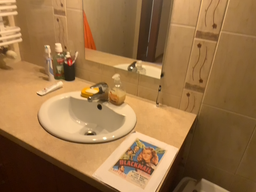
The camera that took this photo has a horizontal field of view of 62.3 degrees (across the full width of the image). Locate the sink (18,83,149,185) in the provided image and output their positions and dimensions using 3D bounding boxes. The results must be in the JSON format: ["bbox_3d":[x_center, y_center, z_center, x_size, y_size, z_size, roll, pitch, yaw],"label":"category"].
[{"bbox_3d":[-0.200,0.140,1.060,0.480,0.170,0.390,17,32,22],"label":"sink"}]

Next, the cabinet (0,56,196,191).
[{"bbox_3d":[-0.400,0.390,1.320,1.310,0.890,0.600,18,32,23],"label":"cabinet"}]
